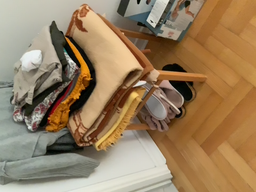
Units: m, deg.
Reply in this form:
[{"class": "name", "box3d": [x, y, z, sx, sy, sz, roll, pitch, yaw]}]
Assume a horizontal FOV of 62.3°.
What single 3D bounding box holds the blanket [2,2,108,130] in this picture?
[{"class": "blanket", "box3d": [-0.340, -0.110, 0.910, 0.370, 0.280, 0.330, -56, 49, 34]}]
